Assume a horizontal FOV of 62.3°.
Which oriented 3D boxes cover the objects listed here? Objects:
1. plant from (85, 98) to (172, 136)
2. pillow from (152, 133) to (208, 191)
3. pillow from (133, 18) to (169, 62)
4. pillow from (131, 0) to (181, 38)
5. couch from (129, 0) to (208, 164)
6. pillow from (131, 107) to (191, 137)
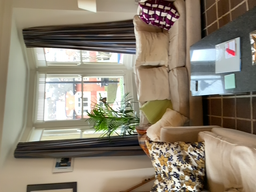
[{"bbox_3d":[-0.030,0.410,3.990,0.660,1.490,0.550,117,151,-71],"label":"plant"},{"bbox_3d":[0.490,0.680,2.000,0.170,0.440,0.630,15,97,56],"label":"pillow"},{"bbox_3d":[0.330,-0.760,2.960,0.140,0.470,0.470,8,90,53],"label":"pillow"},{"bbox_3d":[0.390,-1.090,2.950,0.490,0.490,0.250,-11,74,43],"label":"pillow"},{"bbox_3d":[0.500,-0.360,2.990,0.930,0.800,2.290,-179,89,-81],"label":"couch"},{"bbox_3d":[0.420,0.330,2.670,0.500,0.530,0.230,13,91,43],"label":"pillow"}]
